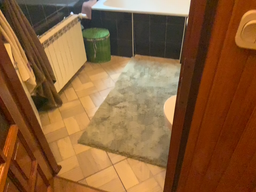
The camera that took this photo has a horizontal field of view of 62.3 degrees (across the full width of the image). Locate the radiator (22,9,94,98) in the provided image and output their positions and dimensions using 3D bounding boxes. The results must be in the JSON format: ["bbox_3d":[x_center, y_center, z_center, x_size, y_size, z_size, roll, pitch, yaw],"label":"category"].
[{"bbox_3d":[-0.700,-0.500,2.360,0.210,0.640,0.820,11,43,15],"label":"radiator"}]

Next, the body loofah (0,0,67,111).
[{"bbox_3d":[-0.880,-0.420,1.730,0.370,1.040,0.380,13,43,18],"label":"body loofah"}]
